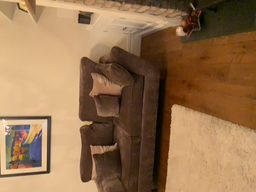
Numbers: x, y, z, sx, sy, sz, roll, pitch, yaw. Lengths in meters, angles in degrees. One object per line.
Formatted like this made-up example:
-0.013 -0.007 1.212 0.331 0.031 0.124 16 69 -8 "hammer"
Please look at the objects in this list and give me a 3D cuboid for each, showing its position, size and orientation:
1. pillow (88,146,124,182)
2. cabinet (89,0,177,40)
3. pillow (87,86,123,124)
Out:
-0.270 0.870 2.720 0.210 0.360 0.370 84 -166 -64 "pillow"
-0.010 -1.060 2.750 1.070 0.820 0.400 -162 74 -71 "cabinet"
-0.300 0.110 2.740 0.150 0.420 0.410 -42 -42 -70 "pillow"
